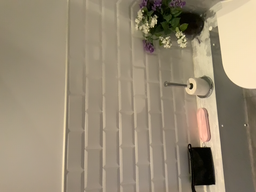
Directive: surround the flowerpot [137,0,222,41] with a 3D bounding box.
[{"bbox_3d":[0.330,-0.540,1.390,0.270,0.470,0.200,-16,72,63],"label":"flowerpot"}]
